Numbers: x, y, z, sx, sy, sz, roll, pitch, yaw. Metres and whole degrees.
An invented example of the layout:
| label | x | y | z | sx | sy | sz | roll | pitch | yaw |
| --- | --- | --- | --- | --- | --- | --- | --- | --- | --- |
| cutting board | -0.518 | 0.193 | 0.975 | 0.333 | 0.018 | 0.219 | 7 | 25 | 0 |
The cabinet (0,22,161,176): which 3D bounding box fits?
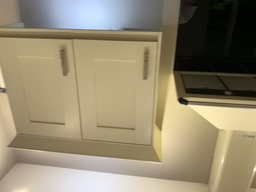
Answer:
| label | x | y | z | sx | sy | sz | roll | pitch | yaw |
| --- | --- | --- | --- | --- | --- | --- | --- | --- | --- |
| cabinet | -0.360 | 0.000 | 1.470 | 1.090 | 0.900 | 0.440 | 3 | -155 | 6 |
